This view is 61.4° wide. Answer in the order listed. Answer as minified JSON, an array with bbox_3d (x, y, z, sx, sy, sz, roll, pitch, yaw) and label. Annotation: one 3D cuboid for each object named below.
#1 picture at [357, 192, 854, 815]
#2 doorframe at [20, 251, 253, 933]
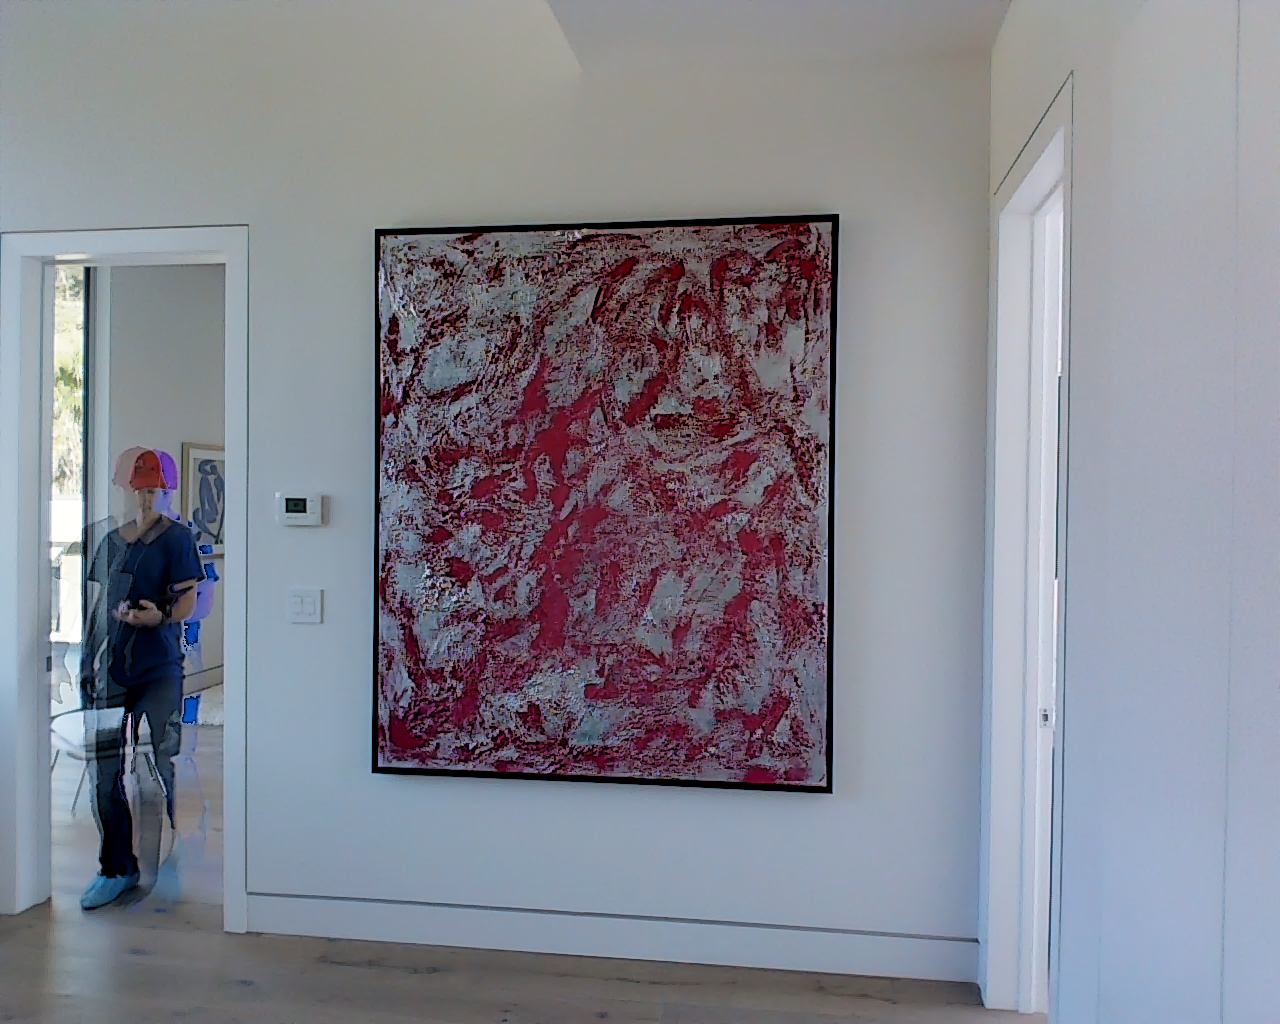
[{"bbox_3d":[-0.140,-0.040,3.590,1.630,1.980,0.080,1,1,9],"label":"picture"},{"bbox_3d":[-1.850,0.280,3.960,0.800,2.420,0.150,1,1,9],"label":"doorframe"}]
